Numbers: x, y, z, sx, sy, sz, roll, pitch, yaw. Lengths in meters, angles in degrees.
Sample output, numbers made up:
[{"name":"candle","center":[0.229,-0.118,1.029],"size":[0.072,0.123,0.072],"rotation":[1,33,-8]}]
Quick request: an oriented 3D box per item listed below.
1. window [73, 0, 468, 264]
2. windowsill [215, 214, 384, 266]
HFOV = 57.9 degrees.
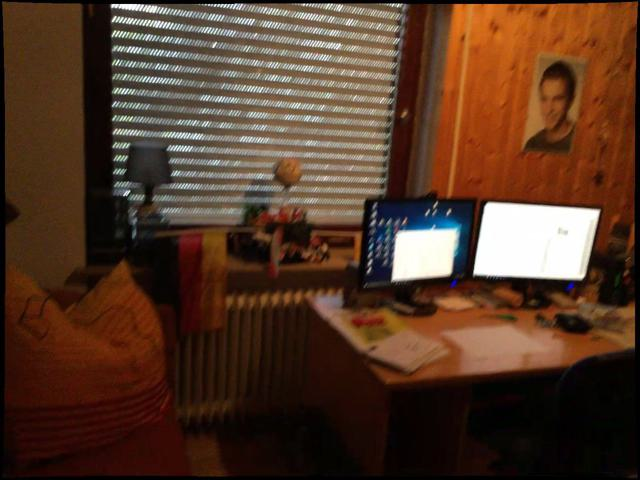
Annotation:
[{"name":"window","center":[-0.200,-0.581,2.410],"size":[1.509,1.251,0.390],"rotation":[-1,17,-22]},{"name":"windowsill","center":[-0.090,-0.010,2.510],"size":[0.679,0.150,0.250],"rotation":[-1,17,-22]}]
